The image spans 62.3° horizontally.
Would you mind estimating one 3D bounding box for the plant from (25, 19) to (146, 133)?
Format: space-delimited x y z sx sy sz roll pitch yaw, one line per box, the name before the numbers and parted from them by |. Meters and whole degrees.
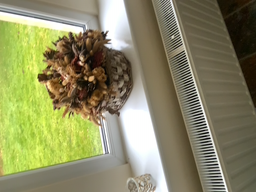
plant | -0.200 -0.060 0.940 0.330 0.370 0.340 -28 70 47
